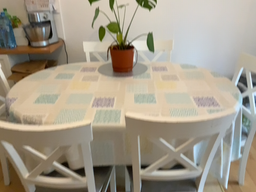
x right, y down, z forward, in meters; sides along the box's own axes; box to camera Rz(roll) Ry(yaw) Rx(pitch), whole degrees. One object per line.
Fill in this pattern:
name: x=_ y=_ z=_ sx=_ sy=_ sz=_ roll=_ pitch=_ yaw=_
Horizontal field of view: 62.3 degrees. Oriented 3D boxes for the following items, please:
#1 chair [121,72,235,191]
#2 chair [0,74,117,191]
chair: x=0.180 y=0.370 z=1.170 sx=0.400 sy=0.880 sz=0.510 roll=-1 pitch=26 yaw=0
chair: x=-0.310 y=0.390 z=1.140 sx=0.400 sy=0.880 sz=0.510 roll=2 pitch=26 yaw=6
